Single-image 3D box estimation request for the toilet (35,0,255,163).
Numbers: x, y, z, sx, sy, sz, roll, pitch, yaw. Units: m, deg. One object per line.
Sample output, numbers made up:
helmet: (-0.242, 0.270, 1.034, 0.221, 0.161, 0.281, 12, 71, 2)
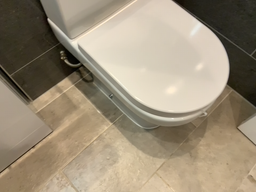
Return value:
toilet: (0.050, -0.190, 0.740, 0.390, 0.810, 0.610, -41, 73, -18)
